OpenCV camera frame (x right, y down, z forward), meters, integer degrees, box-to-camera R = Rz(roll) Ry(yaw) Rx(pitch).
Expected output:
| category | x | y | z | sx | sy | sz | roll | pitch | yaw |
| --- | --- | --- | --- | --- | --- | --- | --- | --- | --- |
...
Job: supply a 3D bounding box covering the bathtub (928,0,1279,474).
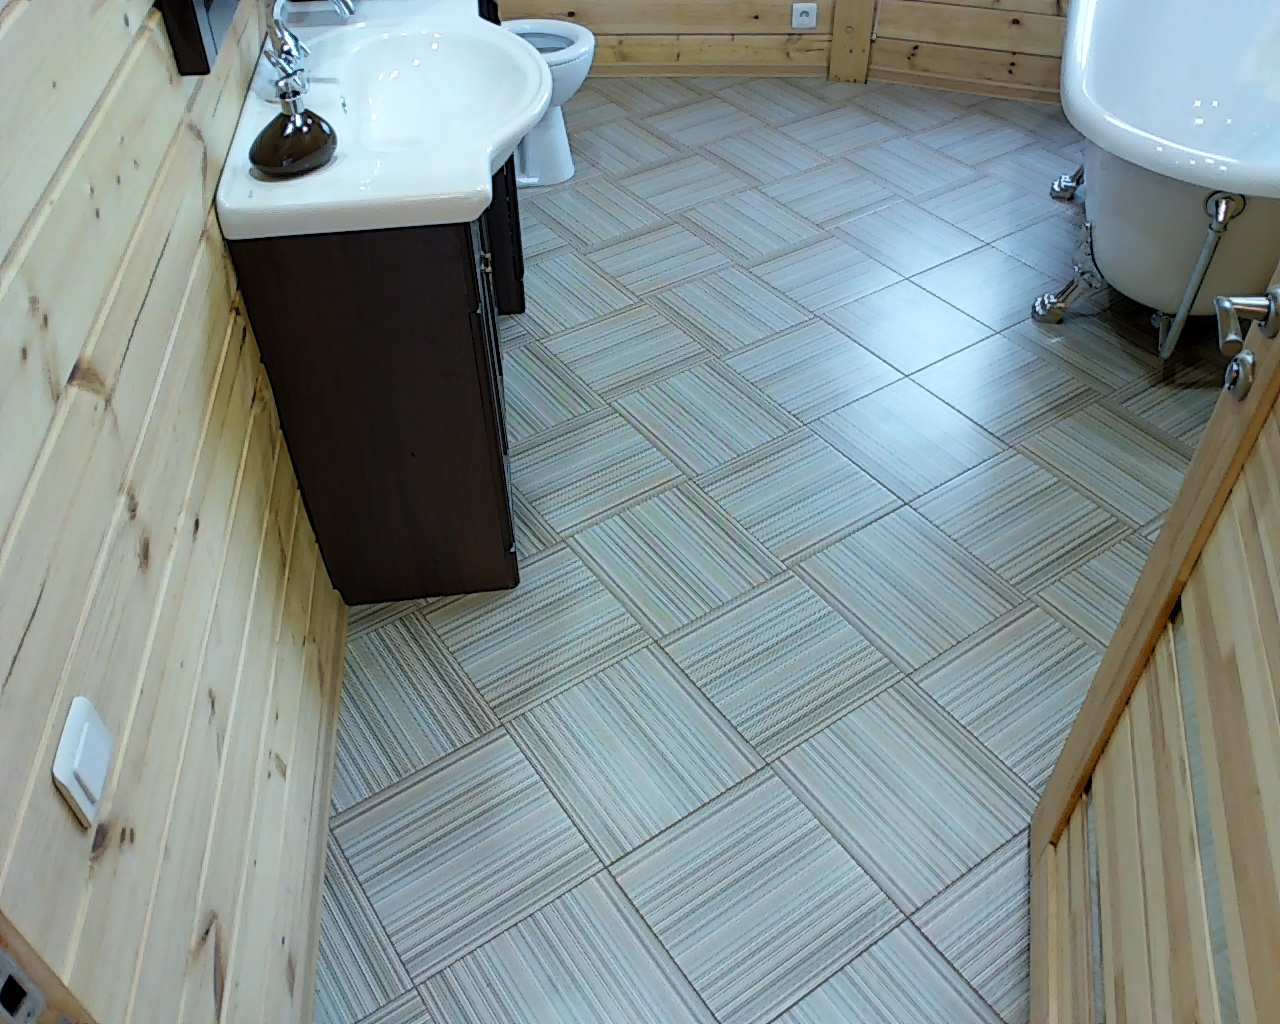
| category | x | y | z | sx | sy | sz | roll | pitch | yaw |
| --- | --- | --- | --- | --- | --- | --- | --- | --- | --- |
| bathtub | 1.510 | -0.970 | 2.840 | 0.960 | 0.710 | 1.730 | 17 | 46 | 18 |
